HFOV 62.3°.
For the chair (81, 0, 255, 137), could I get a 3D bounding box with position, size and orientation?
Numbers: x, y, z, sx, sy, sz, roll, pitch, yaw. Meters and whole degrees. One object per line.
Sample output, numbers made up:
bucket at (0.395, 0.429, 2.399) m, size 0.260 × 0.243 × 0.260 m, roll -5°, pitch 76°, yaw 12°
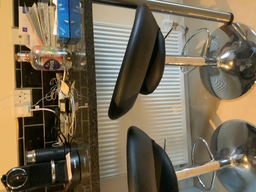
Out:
chair at (0.230, -0.140, 1.110) m, size 0.560 × 0.810 × 0.510 m, roll -177°, pitch 86°, yaw -65°
